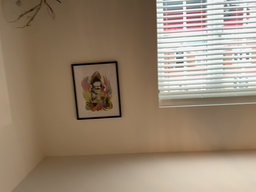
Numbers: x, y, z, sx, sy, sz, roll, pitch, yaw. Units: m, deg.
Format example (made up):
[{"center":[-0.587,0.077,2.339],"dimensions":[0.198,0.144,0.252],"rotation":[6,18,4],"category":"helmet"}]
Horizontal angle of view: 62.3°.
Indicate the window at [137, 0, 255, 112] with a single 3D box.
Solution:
[{"center":[0.970,-0.660,2.050],"dimensions":[1.730,1.560,0.200],"rotation":[-2,-171,4],"category":"window"}]
